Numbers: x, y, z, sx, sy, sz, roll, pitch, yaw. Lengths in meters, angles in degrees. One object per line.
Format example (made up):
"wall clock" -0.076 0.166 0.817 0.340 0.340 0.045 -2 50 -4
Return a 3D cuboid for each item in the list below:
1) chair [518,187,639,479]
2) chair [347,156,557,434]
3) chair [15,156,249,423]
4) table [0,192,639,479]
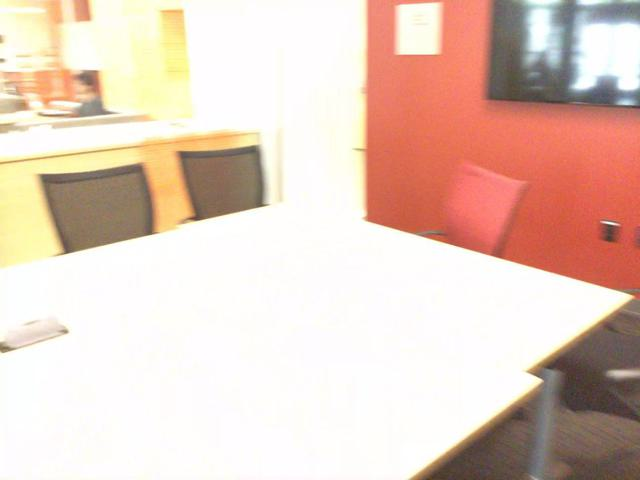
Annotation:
"chair" 0.930 0.370 1.690 0.570 0.900 0.610 6 19 16
"chair" 0.460 0.170 2.300 0.550 0.890 0.600 -4 19 -13
"chair" -0.740 0.140 2.370 0.670 0.820 0.540 -16 24 -40
"table" -0.380 0.550 1.640 2.140 0.770 1.610 -16 24 -40
